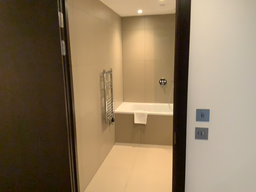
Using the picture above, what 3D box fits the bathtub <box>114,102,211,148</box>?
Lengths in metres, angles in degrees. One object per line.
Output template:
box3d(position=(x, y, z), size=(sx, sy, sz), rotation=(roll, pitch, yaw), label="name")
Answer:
box3d(position=(0.640, 0.510, 4.060), size=(1.650, 0.610, 0.740), rotation=(1, 11, 11), label="bathtub")
